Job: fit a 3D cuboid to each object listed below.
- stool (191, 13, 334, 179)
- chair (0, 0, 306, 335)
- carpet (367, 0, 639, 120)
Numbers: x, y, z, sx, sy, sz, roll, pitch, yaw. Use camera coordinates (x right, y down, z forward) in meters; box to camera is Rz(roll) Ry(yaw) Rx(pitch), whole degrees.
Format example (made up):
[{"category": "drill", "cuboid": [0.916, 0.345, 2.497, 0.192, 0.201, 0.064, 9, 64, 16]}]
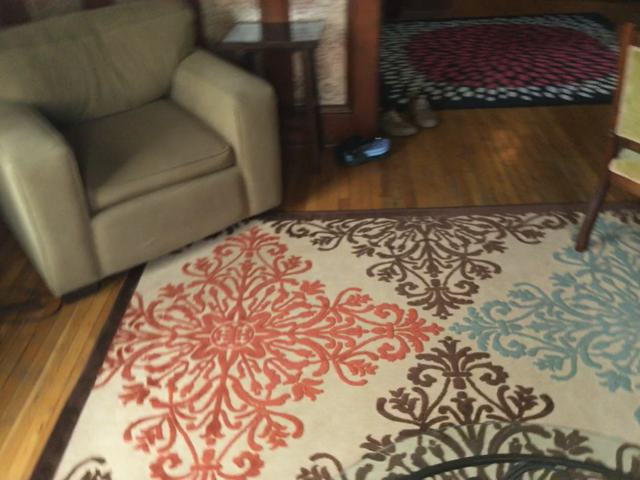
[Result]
[{"category": "stool", "cuboid": [-0.240, -0.690, 2.810, 0.560, 0.650, 0.360, -4, 36, 4]}, {"category": "chair", "cuboid": [-0.830, -0.450, 2.390, 1.060, 0.890, 0.990, -30, 42, -28]}, {"category": "carpet", "cuboid": [1.400, -1.480, 4.210, 2.070, 0.160, 2.170, -2, 36, 7]}]
